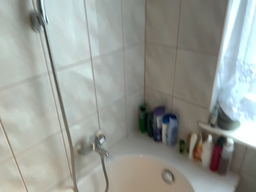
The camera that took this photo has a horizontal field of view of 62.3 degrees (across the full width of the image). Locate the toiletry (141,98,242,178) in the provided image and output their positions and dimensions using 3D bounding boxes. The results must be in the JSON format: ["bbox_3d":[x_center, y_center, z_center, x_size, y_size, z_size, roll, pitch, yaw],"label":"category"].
[{"bbox_3d":[0.340,0.230,1.300,0.600,0.250,0.080,23,37,37],"label":"toiletry"}]
